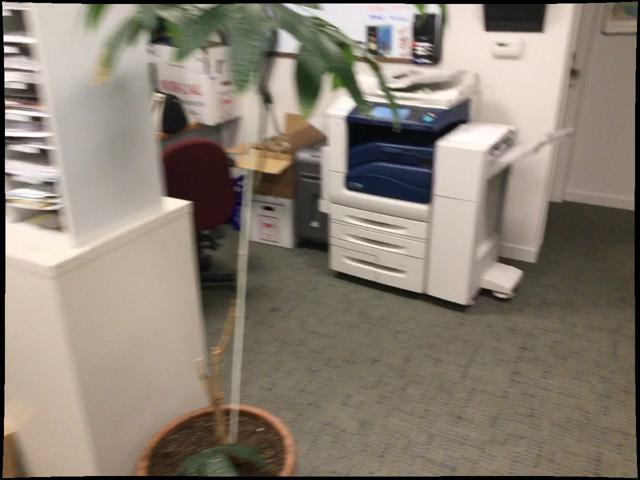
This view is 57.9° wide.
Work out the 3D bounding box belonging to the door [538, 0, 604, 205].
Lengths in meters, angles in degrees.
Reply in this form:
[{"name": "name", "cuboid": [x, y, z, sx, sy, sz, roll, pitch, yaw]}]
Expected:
[{"name": "door", "cuboid": [1.598, -1.181, 3.560, 0.130, 1.852, 0.580, 13, 29, 27]}]
